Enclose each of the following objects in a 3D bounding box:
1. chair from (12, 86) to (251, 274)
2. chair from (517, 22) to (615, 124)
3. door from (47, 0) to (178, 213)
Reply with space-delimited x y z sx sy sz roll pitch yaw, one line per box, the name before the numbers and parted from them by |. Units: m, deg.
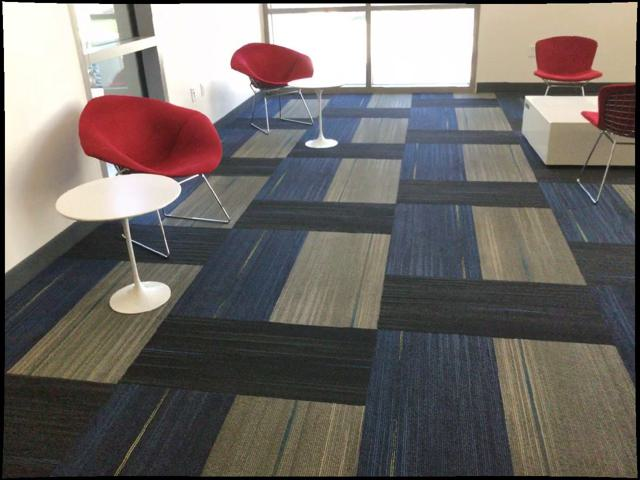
chair | -0.958 -0.381 3.160 0.808 0.732 0.830 7 27 19
chair | 2.095 -1.454 5.000 0.579 0.752 0.620 2 26 10
door | -1.297 -1.394 3.550 0.170 2.255 0.950 3 26 10
